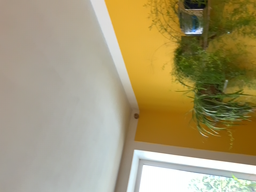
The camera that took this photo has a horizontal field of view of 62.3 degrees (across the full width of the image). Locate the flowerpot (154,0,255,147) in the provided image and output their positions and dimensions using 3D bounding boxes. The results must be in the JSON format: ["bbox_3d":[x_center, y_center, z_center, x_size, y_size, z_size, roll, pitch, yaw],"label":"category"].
[{"bbox_3d":[0.740,-0.190,1.480,1.820,0.920,0.370,69,-151,-54],"label":"flowerpot"}]
